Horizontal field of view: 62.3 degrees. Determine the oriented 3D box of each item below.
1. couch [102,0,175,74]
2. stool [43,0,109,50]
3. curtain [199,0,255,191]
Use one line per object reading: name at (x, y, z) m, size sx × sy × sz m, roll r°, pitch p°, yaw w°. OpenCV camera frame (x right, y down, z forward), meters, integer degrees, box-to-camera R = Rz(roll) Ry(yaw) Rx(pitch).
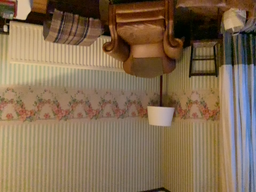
couch at (0.200, -0.750, 2.820) m, size 0.810 × 0.800 × 0.950 m, roll 1°, pitch 179°, yaw 12°
stool at (-0.620, -0.900, 2.470) m, size 0.630 × 0.540 × 0.530 m, roll 2°, pitch 178°, yaw -26°
curtain at (1.400, 0.510, 2.910) m, size 0.630 × 3.390 × 0.590 m, roll 0°, pitch 178°, yaw 39°
